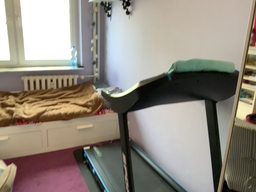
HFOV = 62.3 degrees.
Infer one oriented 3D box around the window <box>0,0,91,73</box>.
[{"bbox_3d":[-1.360,-1.130,3.100,1.610,1.530,0.170,-5,19,-25],"label":"window"}]
